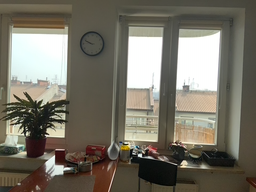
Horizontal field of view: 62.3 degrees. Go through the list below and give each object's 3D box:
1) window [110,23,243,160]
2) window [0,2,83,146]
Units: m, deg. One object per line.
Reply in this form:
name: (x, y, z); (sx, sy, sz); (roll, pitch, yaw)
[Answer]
window: (0.480, -0.040, 2.200); (1.270, 1.330, 0.120); (2, 2, 1)
window: (-0.990, -0.230, 2.240); (0.920, 1.400, 0.250); (3, 2, 5)
